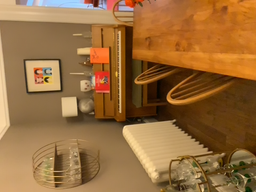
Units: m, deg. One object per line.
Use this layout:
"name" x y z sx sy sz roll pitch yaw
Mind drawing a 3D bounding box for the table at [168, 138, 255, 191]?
"table" 0.740 0.670 1.770 0.440 0.650 0.420 -143 52 -69

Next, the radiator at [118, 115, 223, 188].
"radiator" 0.400 0.560 2.550 1.160 0.780 0.230 -138 48 -67
